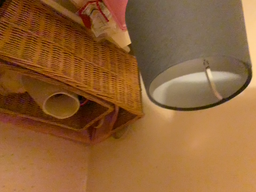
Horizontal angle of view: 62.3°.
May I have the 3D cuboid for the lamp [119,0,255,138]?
[{"bbox_3d":[0.110,-0.190,0.410,0.180,0.460,0.240,-10,146,14],"label":"lamp"}]
